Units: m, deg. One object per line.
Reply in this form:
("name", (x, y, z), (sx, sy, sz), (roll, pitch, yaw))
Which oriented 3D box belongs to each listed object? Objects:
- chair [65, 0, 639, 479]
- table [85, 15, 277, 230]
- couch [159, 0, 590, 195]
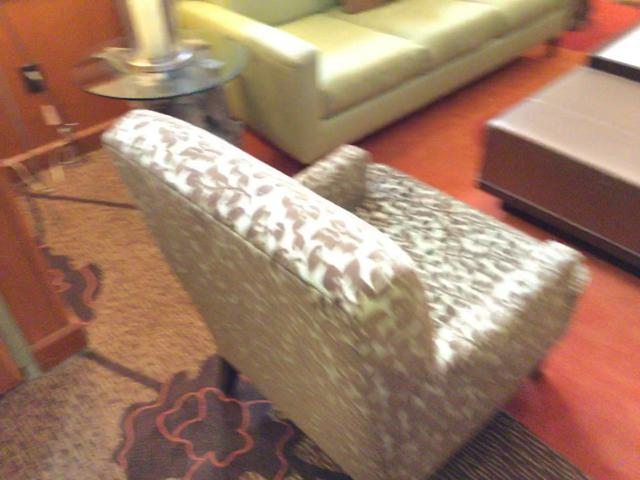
("chair", (0.120, 0.070, 1.430), (0.920, 0.930, 0.770), (-31, 48, -29))
("table", (-0.540, -0.490, 2.350), (0.460, 0.600, 0.510), (-31, 48, -29))
("couch", (0.390, -1.290, 2.910), (2.110, 1.010, 1.020), (-31, 48, -29))
